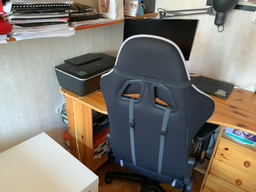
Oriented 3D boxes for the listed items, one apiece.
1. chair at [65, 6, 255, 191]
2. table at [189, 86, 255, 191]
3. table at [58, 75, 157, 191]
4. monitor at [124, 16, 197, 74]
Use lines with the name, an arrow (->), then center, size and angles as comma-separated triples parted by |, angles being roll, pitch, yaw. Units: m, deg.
chair -> 0.180, 0.160, 1.340 | 0.700, 1.220, 0.800 | 11, 30, 12
table -> 0.800, 0.430, 1.430 | 0.490, 0.750, 0.510 | 23, 34, 31
table -> -0.170, 0.320, 1.500 | 0.650, 0.750, 0.200 | 23, 34, 31
monitor -> 0.230, -0.380, 1.610 | 0.520, 0.410, 0.050 | -5, 33, -9
